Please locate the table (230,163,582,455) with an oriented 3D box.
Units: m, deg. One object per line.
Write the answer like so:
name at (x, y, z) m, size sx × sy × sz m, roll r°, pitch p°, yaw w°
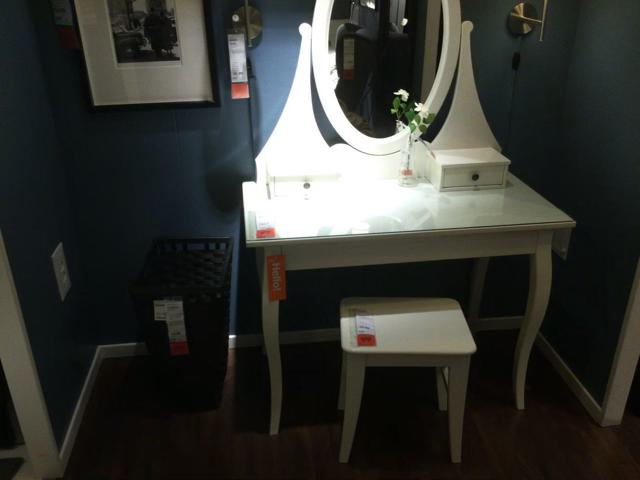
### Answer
table at (0.240, 0.200, 2.020) m, size 1.010 × 0.770 × 0.550 m, roll -4°, pitch 21°, yaw -5°
